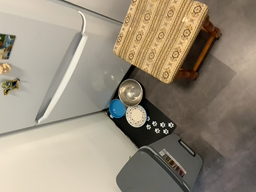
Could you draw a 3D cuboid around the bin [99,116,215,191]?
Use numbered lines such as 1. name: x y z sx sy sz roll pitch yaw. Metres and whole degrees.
1. bin: 0.180 0.360 1.100 0.320 0.510 0.290 41 113 22
